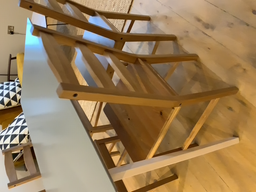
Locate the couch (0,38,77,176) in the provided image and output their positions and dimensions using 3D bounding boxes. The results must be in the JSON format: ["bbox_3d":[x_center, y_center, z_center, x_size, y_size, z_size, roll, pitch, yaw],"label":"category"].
[{"bbox_3d":[-1.510,0.030,3.080,1.790,0.750,0.890,54,132,35],"label":"couch"}]
